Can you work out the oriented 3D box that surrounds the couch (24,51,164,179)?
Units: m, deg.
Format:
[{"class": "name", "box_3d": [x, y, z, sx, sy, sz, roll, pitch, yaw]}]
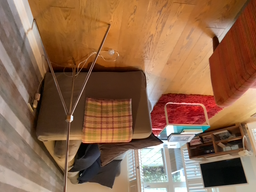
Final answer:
[{"class": "couch", "box_3d": [-0.430, 0.530, 2.830, 1.030, 0.780, 2.470, 1, 153, -9]}]
